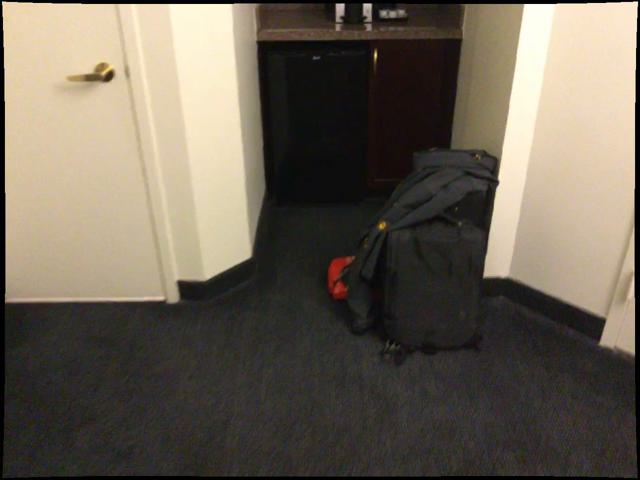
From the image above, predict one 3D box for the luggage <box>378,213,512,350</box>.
[{"bbox_3d":[0.430,0.150,2.100,0.390,0.420,0.260,-1,32,-1],"label":"luggage"}]
